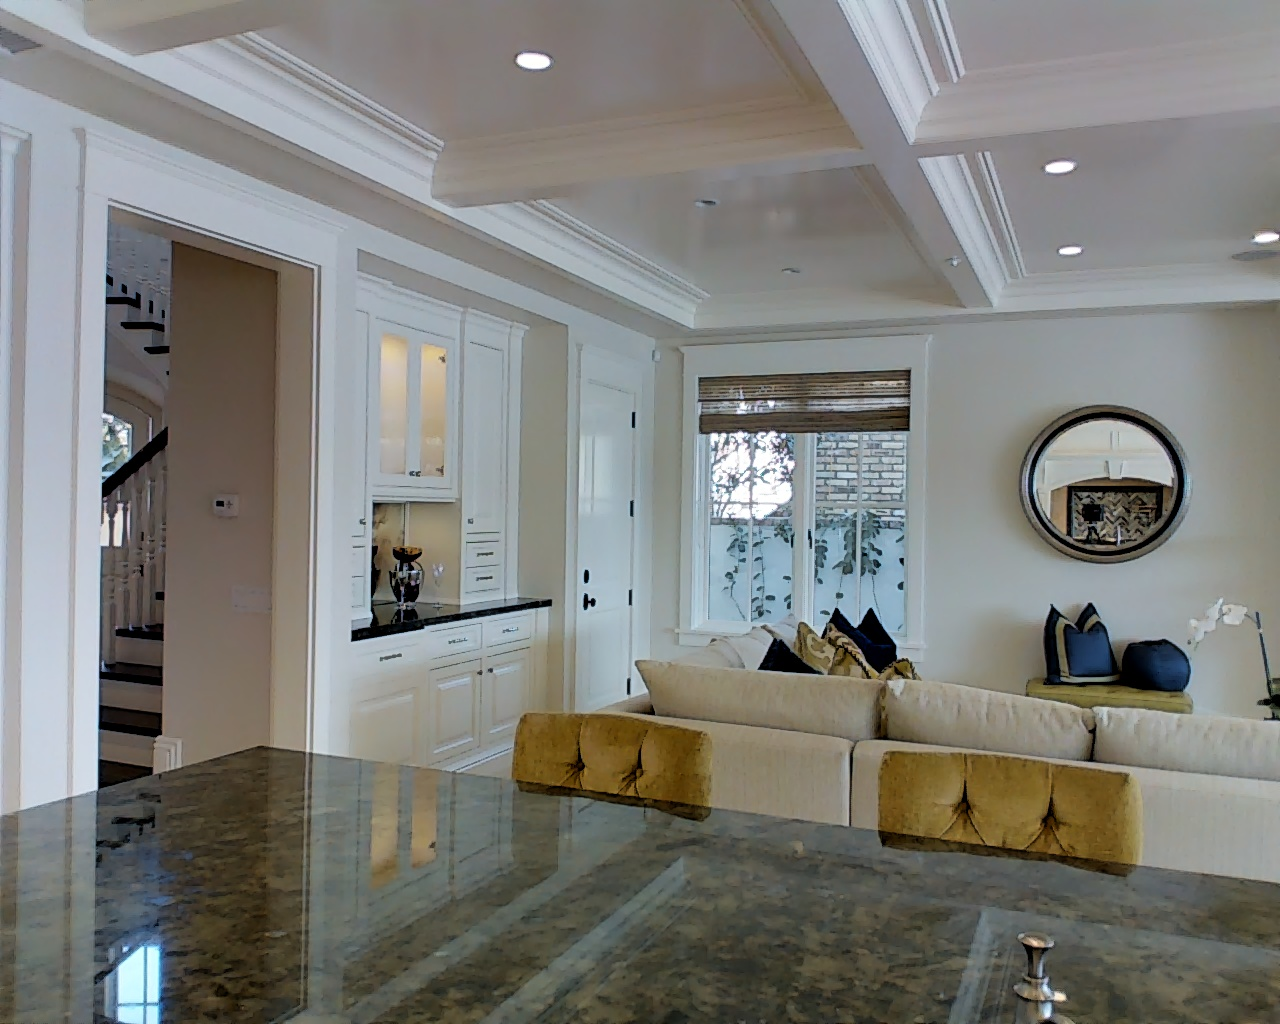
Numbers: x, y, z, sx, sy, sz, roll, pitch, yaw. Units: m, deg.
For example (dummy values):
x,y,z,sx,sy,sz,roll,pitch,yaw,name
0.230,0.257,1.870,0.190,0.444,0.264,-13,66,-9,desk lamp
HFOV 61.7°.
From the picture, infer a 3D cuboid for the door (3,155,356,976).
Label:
x,y,z,sx,sy,sz,roll,pitch,yaw,name
-1.629,0.170,3.980,0.350,2.561,1.240,1,0,25,door
